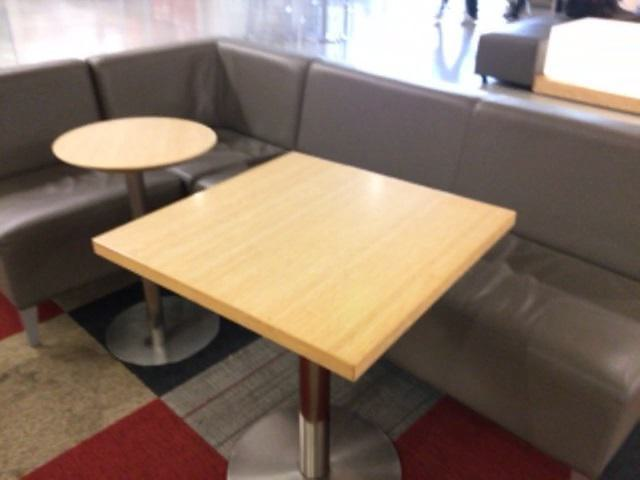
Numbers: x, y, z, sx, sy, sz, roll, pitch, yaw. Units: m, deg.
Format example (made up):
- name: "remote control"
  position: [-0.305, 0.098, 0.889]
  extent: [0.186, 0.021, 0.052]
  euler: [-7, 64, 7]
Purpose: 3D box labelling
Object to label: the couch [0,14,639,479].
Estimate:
- name: "couch"
  position: [-0.110, -0.050, 1.820]
  extent: [1.450, 1.040, 2.290]
  euler: [-25, 30, -35]
